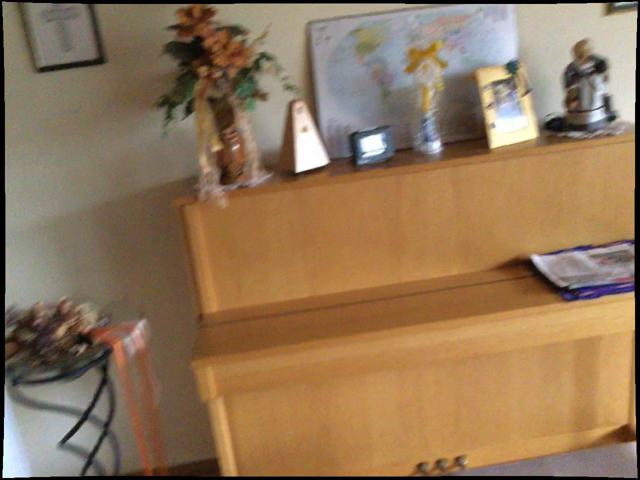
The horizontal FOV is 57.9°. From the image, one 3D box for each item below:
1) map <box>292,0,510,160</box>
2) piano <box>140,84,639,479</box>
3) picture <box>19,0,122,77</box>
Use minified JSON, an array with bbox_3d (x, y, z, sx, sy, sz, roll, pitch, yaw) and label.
[{"bbox_3d":[0.280,-0.531,1.920,0.699,0.440,0.060,-7,19,-4],"label":"map"},{"bbox_3d":[0.370,0.240,1.850,1.519,1.241,0.590,-7,19,-4],"label":"piano"},{"bbox_3d":[-0.749,-0.641,1.740,0.230,0.260,0.080,-7,19,-4],"label":"picture"}]
